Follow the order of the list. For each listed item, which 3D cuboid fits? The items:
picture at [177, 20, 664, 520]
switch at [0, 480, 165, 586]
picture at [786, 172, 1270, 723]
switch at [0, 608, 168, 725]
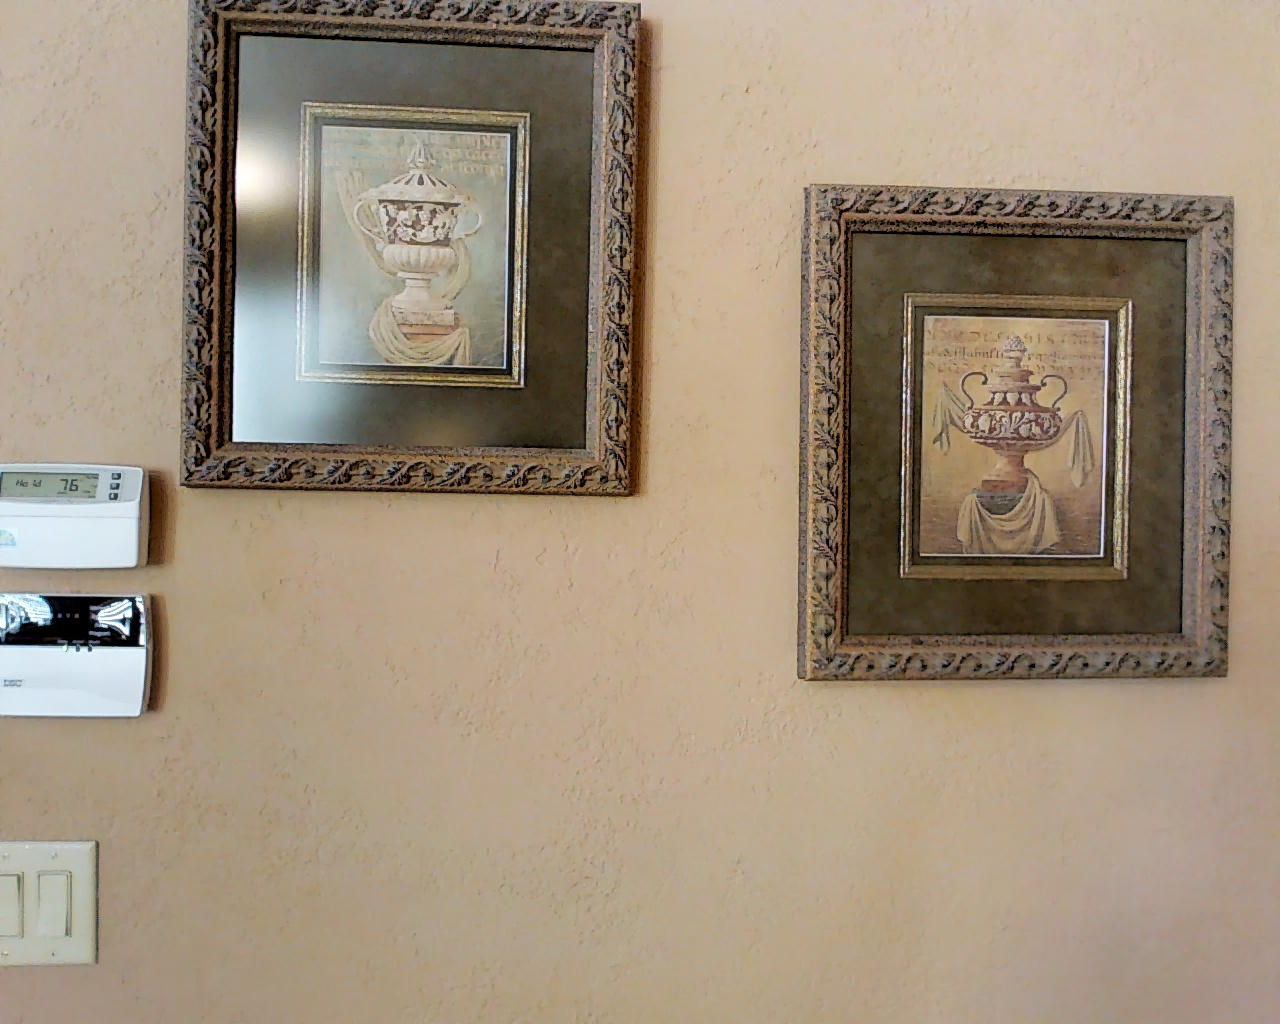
[{"bbox_3d":[-0.210,-0.230,1.060,0.460,0.470,0.040,1,0,-5],"label":"picture"},{"bbox_3d":[-0.550,0.020,1.040,0.160,0.100,0.040,1,0,-5],"label":"switch"},{"bbox_3d":[0.400,-0.060,1.110,0.470,0.530,0.050,3,0,-5],"label":"picture"},{"bbox_3d":[-0.550,0.150,1.050,0.160,0.110,0.030,1,0,-5],"label":"switch"}]
